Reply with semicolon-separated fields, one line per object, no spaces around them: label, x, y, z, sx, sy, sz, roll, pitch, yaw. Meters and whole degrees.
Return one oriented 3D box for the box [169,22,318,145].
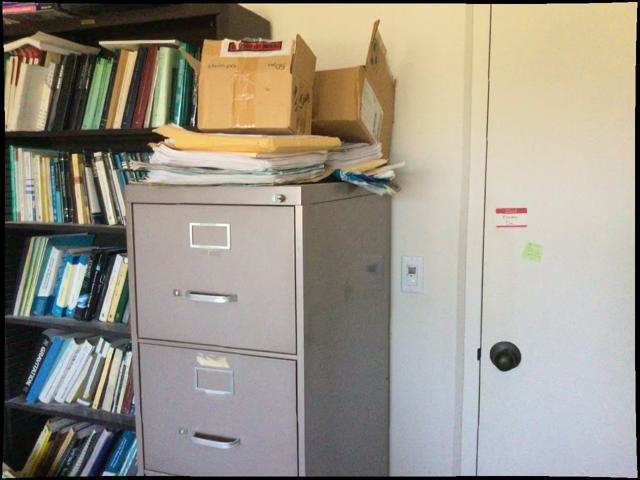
box;-0.160;-0.331;1.280;0.259;0.231;0.210;2;8;17
